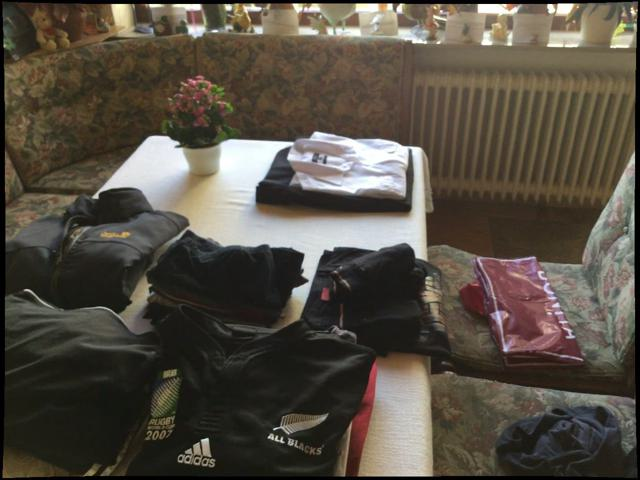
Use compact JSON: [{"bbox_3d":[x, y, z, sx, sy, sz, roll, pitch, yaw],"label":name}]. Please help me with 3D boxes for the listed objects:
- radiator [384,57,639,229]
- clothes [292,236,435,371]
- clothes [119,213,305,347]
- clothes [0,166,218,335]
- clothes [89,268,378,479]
[{"bbox_3d":[0.879,-0.440,2.630,1.119,0.660,0.260,5,35,7],"label":"radiator"},{"bbox_3d":[0.080,0.110,1.140,0.240,0.080,0.330,1,30,2],"label":"clothes"},{"bbox_3d":[-0.190,0.070,1.100,0.290,0.140,0.190,5,35,8],"label":"clothes"},{"bbox_3d":[-0.460,0.000,1.230,0.370,0.120,0.400,5,35,7],"label":"clothes"},{"bbox_3d":[-0.090,0.220,0.850,0.320,0.160,0.340,5,35,7],"label":"clothes"}]
